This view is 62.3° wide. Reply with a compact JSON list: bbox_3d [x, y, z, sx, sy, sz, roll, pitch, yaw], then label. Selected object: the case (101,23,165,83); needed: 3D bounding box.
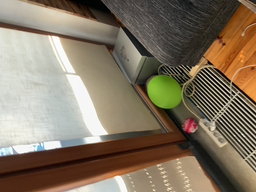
[{"bbox_3d":[0.020,-0.360,1.760,0.500,0.240,0.230,52,126,37],"label":"case"}]
